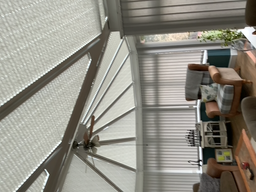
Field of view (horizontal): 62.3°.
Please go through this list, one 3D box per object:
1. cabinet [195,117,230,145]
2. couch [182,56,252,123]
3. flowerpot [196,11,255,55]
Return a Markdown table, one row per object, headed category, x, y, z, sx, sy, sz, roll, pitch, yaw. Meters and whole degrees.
| category | x | y | z | sx | sy | sz | roll | pitch | yaw |
| --- | --- | --- | --- | --- | --- | --- | --- | --- | --- |
| cabinet | 1.970 | 0.840 | 5.020 | 0.360 | 0.650 | 0.620 | 66 | -157 | -72 |
| couch | 1.670 | -0.140 | 4.240 | 0.870 | 0.990 | 0.990 | -82 | -12 | -55 |
| flowerpot | 1.630 | -0.960 | 3.270 | 0.430 | 1.010 | 0.490 | 29 | -121 | -82 |
